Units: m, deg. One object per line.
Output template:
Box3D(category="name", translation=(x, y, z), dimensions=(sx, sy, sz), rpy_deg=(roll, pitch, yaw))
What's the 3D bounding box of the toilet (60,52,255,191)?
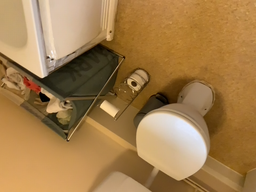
Box3D(category="toilet", translation=(0.180, 0.340, 1.160), dimensions=(0.540, 0.900, 0.680), rpy_deg=(31, 138, 16))
